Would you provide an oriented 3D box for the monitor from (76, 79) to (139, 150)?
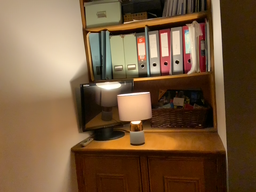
[{"bbox_3d":[-0.140,0.110,1.490,0.370,0.420,0.170,-8,6,-28],"label":"monitor"}]
